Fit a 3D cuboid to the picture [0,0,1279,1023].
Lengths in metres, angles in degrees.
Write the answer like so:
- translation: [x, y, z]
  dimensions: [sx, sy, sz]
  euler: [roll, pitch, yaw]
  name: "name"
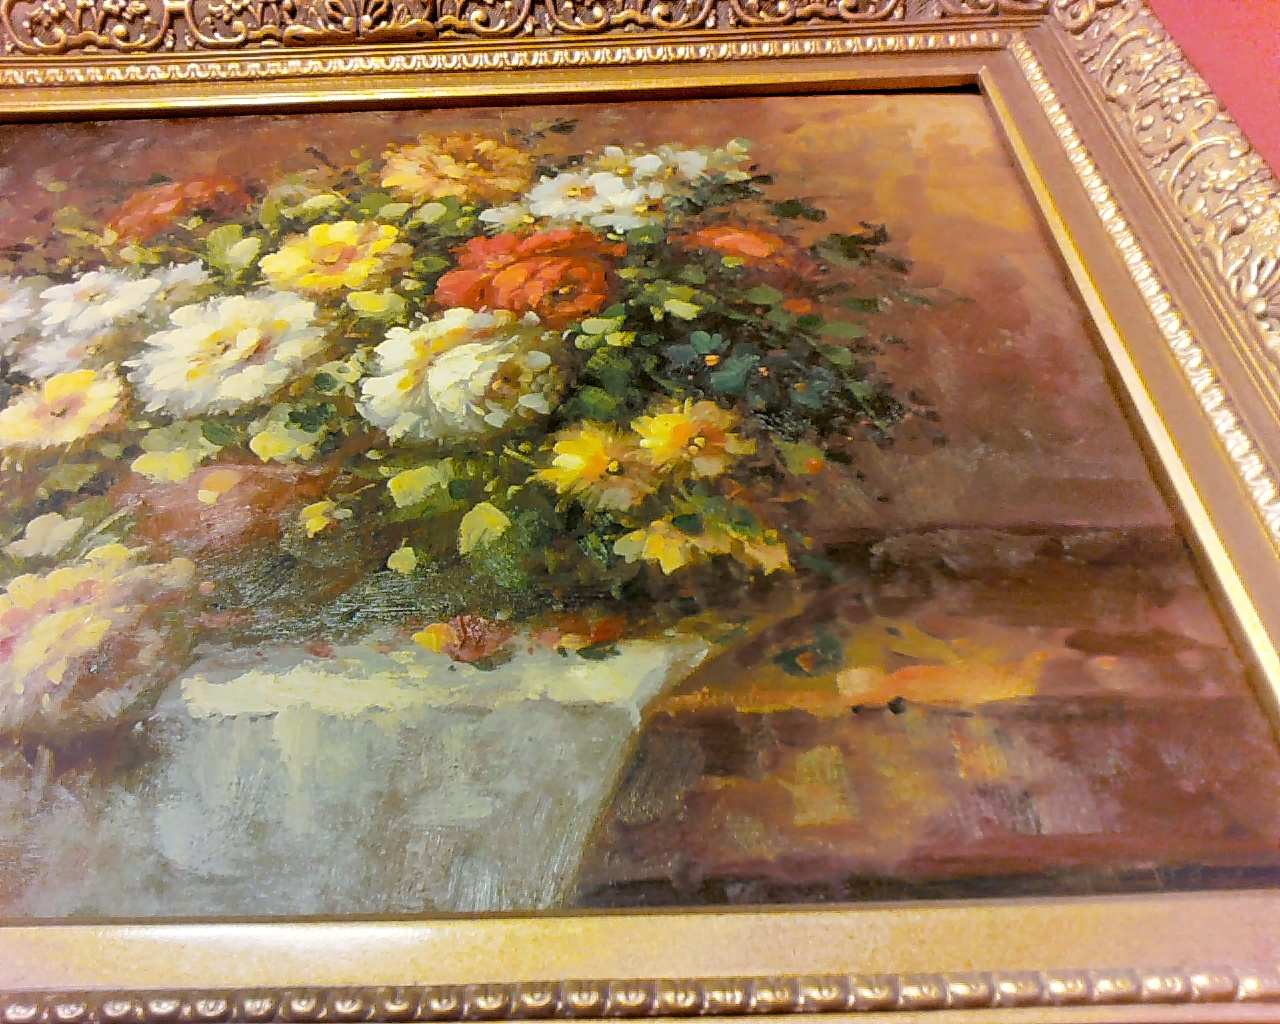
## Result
- translation: [-0.200, -0.110, 0.580]
  dimensions: [1.160, 0.890, 0.090]
  euler: [-2, -43, 1]
  name: "picture"
